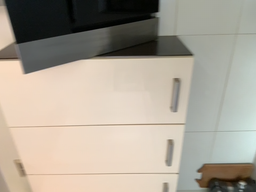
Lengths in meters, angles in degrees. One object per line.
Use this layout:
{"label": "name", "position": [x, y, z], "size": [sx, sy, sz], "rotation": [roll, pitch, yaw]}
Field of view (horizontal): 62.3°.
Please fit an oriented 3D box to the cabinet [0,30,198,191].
{"label": "cabinet", "position": [-0.130, 0.130, 1.090], "size": [0.330, 0.770, 0.830], "rotation": [-90, -1, -61]}
